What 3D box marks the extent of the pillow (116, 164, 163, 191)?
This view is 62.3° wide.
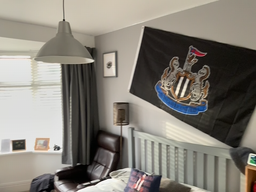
[{"bbox_3d":[0.090,0.850,1.950,0.370,0.330,0.120,4,-20,45],"label":"pillow"}]
